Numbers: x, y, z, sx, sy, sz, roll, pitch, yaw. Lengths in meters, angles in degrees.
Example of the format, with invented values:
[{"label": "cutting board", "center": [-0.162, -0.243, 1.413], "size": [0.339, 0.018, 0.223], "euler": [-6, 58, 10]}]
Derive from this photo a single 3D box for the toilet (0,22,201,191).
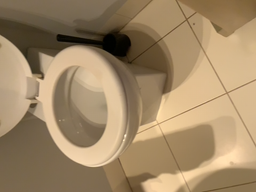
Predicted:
[{"label": "toilet", "center": [-0.190, 0.010, 0.690], "size": [0.500, 0.810, 0.390], "euler": [21, 109, 33]}]
